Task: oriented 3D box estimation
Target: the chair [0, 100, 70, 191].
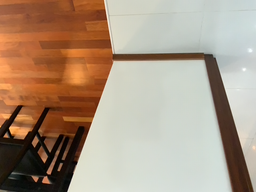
[{"bbox_3d":[-0.920,0.600,1.790,0.400,1.060,0.540,3,132,7],"label":"chair"}]
